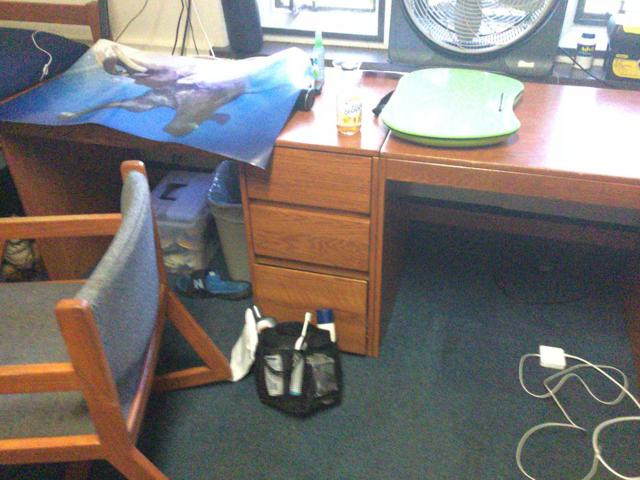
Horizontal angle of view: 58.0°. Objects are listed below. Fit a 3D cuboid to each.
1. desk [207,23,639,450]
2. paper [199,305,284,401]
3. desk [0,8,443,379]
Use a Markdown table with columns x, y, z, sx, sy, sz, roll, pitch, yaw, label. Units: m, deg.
| x | y | z | sx | sy | sz | roll | pitch | yaw | label |
| --- | --- | --- | --- | --- | --- | --- | --- | --- | --- |
| 0.660 | -0.060 | 1.700 | 1.660 | 0.850 | 0.820 | 8 | 35 | 14 | desk |
| -0.230 | 0.340 | 1.750 | 0.190 | 0.200 | 0.160 | 8 | 35 | 14 | paper |
| -0.310 | -0.240 | 2.020 | 1.290 | 0.860 | 0.820 | 8 | 35 | 14 | desk |
